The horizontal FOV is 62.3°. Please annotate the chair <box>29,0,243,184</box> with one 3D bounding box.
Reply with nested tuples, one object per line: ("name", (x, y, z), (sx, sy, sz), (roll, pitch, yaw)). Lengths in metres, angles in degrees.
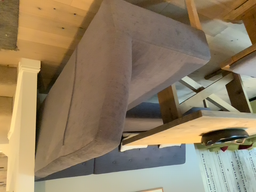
("chair", (-0.130, -0.010, 1.400), (0.750, 0.960, 1.130), (6, 155, -33))
